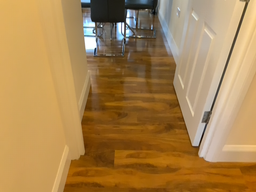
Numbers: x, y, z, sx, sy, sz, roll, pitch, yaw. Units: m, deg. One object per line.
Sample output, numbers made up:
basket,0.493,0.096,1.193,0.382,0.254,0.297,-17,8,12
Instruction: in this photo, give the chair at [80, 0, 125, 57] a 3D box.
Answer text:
chair,-0.280,-1.080,2.580,0.480,1.020,0.580,1,37,-2
